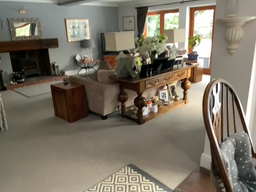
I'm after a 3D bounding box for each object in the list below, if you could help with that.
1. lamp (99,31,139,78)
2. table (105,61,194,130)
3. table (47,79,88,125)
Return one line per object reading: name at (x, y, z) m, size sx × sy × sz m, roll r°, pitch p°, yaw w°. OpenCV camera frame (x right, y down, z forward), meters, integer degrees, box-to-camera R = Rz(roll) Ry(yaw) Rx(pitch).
lamp at (-0.130, -0.660, 3.280) m, size 0.490 × 0.640 × 0.320 m, roll -18°, pitch 23°, yaw -41°
table at (0.470, -0.120, 3.780) m, size 1.740 × 0.750 × 0.540 m, roll -18°, pitch 23°, yaw -41°
table at (-1.040, 0.080, 3.660) m, size 0.550 × 0.610 × 0.370 m, roll 13°, pitch 24°, yaw 41°
